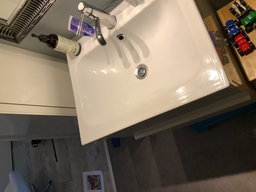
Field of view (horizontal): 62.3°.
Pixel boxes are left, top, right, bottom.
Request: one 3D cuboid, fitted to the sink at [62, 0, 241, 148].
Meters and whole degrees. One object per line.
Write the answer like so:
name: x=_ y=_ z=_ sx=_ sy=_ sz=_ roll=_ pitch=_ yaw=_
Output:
sink: x=0.010 y=-0.120 z=0.830 sx=0.620 sy=0.130 sz=0.480 roll=-27 pitch=68 yaw=33
